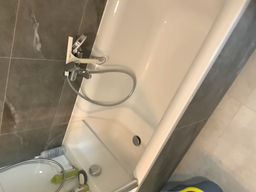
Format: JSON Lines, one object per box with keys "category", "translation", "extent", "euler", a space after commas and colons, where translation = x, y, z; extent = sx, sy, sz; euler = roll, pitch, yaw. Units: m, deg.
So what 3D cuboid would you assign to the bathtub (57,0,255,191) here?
{"category": "bathtub", "translation": [0.150, -0.060, 1.350], "extent": [0.690, 0.560, 1.570], "euler": [41, 119, 32]}
